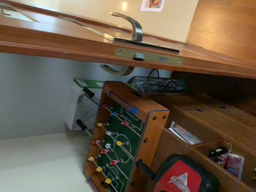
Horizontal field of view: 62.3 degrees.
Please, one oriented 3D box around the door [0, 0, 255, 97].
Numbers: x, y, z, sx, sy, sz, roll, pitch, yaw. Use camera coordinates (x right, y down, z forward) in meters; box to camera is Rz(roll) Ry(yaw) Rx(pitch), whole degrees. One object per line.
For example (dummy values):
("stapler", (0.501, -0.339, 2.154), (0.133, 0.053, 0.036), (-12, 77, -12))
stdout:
("door", (-0.050, -0.230, 0.860), (0.790, 2.140, 0.160), (33, 116, 45))
